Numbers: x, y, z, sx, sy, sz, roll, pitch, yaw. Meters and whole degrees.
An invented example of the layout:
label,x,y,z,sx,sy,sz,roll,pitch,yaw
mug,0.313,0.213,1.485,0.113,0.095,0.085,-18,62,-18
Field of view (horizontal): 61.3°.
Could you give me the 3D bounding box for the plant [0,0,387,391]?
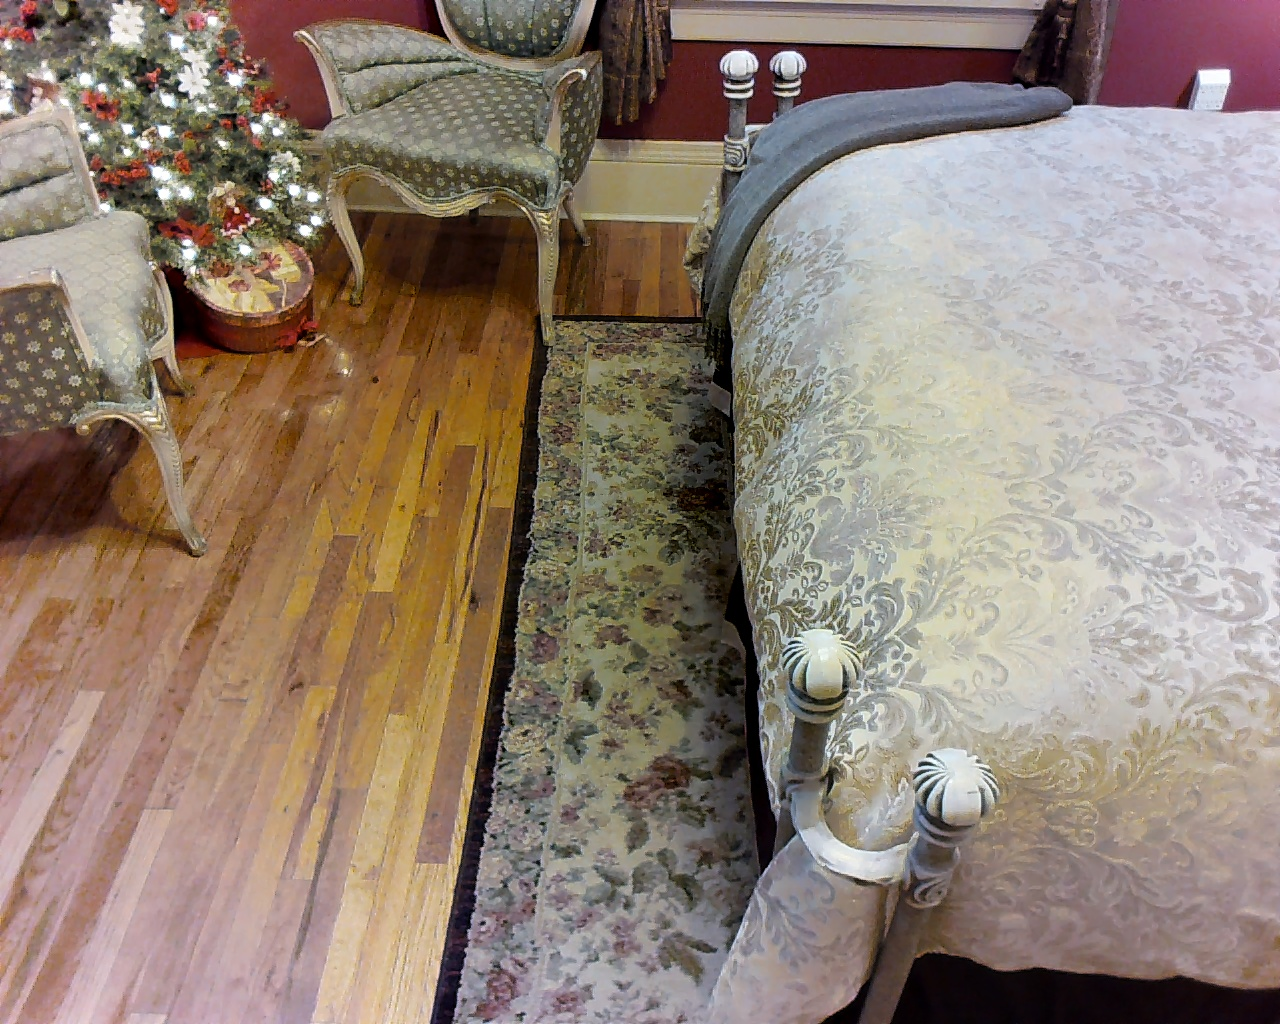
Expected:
label,x,y,z,sx,sy,sz,roll,pitch,yaw
plant,-1.210,-1.120,2.530,0.760,1.360,0.680,19,45,19
